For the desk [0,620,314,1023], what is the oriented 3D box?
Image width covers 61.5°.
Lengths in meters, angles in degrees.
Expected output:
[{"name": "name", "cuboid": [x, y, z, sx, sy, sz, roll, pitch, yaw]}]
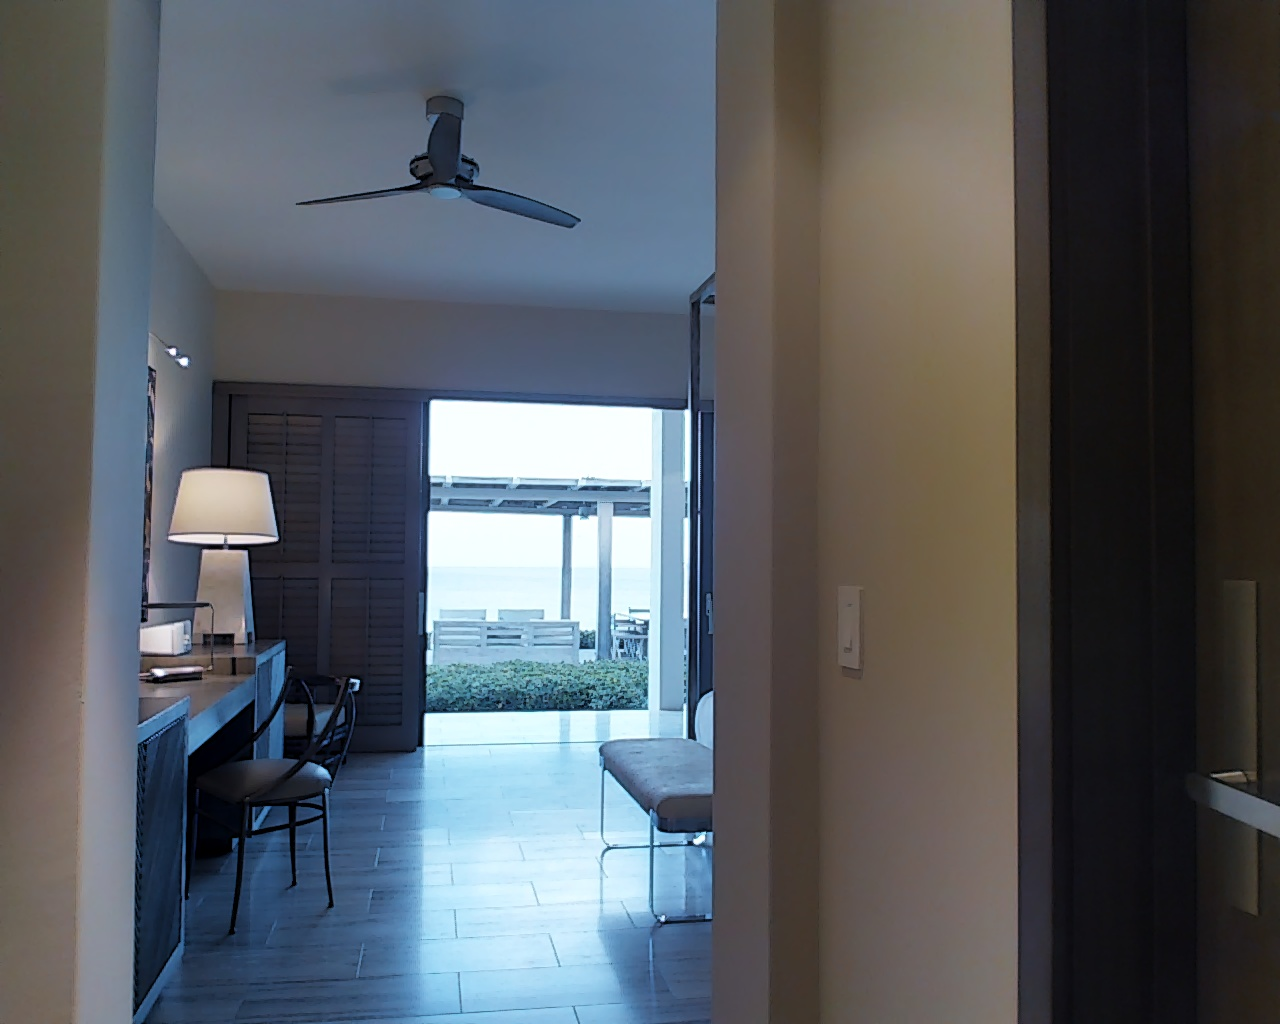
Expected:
[{"name": "desk", "cuboid": [-1.770, 0.950, 3.850, 0.730, 0.900, 3.580, 1, -2, -10]}]
